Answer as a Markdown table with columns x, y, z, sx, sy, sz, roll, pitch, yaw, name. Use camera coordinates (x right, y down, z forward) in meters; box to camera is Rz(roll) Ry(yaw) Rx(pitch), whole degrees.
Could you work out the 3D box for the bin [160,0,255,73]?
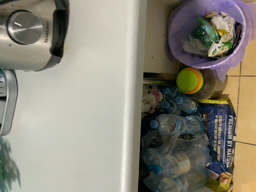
| x | y | z | sx | sy | sz | roll | pitch | yaw | name |
| --- | --- | --- | --- | --- | --- | --- | --- | --- | --- |
| 0.360 | -0.240 | 0.900 | 0.330 | 0.290 | 0.270 | 6 | 96 | 39 | bin |
